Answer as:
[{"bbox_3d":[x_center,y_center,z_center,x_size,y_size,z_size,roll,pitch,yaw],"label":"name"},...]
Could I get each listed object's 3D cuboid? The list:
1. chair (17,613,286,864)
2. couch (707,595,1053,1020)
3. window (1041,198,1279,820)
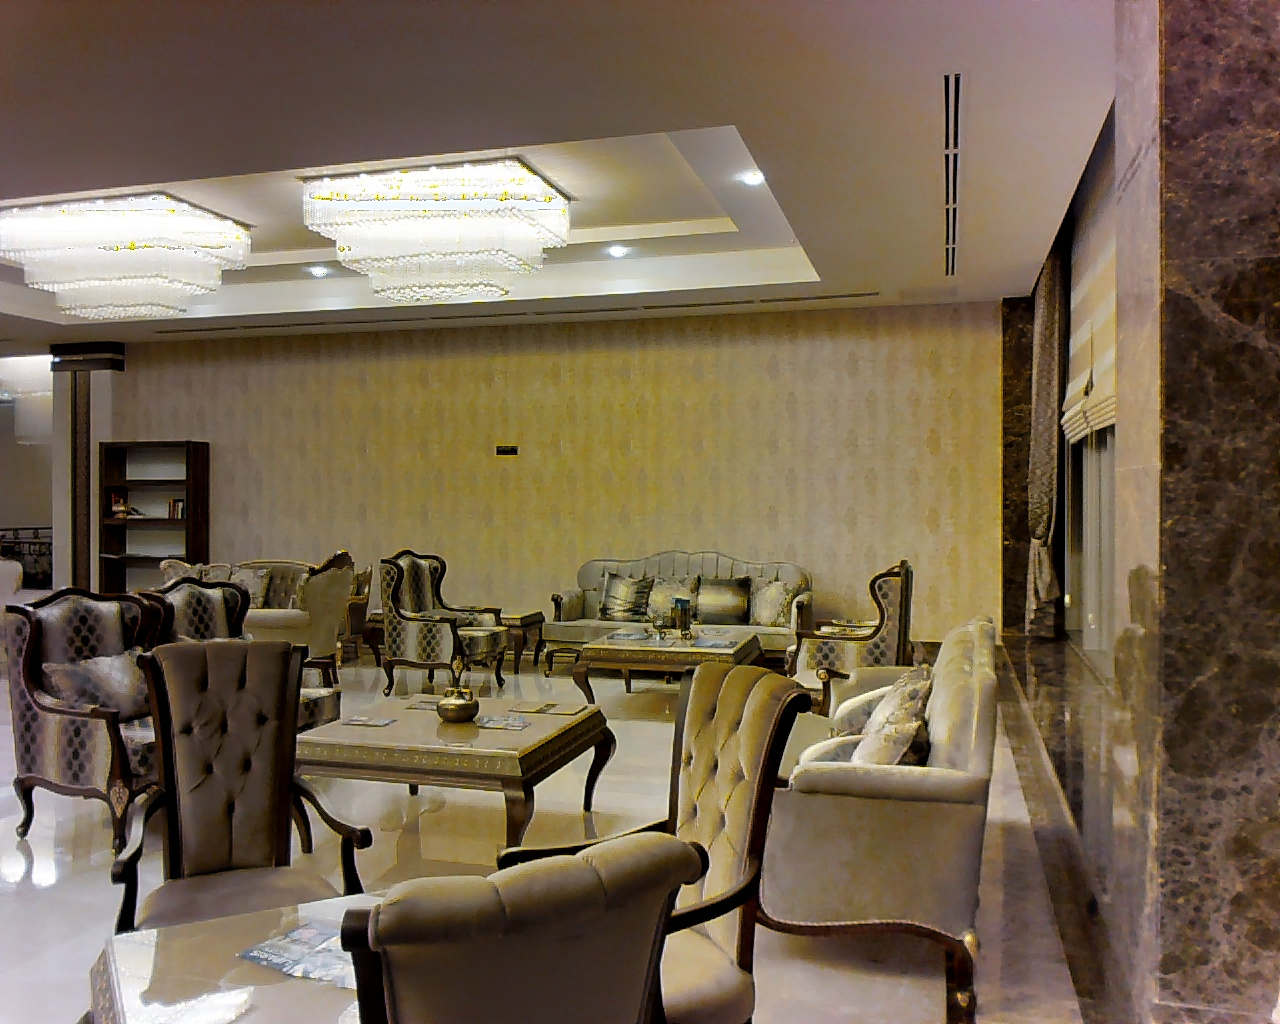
[{"bbox_3d":[-2.249,1.000,5.020,0.830,0.950,0.790,0,1,18],"label":"chair"},{"bbox_3d":[1.030,0.960,4.370,1.030,1.030,2.250,0,1,17],"label":"couch"},{"bbox_3d":[2.999,-0.030,6.630,0.510,2.371,5.170,0,1,15],"label":"window"}]
